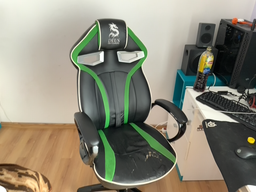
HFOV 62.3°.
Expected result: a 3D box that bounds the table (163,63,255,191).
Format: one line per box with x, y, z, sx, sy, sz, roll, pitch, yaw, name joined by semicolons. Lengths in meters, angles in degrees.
0.720;0.370;1.600;0.610;0.750;1.410;2;30;-2;table
